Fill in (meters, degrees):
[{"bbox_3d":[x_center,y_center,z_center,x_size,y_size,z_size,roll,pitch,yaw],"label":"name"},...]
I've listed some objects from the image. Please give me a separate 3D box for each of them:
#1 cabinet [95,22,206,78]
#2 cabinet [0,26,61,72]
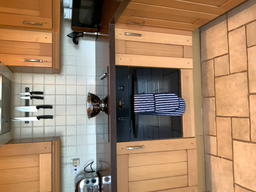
[{"bbox_3d":[0.180,-0.390,2.040,0.580,0.890,0.320,169,100,-70],"label":"cabinet"},{"bbox_3d":[-1.030,-0.390,1.770,0.290,0.880,0.290,169,100,-70],"label":"cabinet"}]
